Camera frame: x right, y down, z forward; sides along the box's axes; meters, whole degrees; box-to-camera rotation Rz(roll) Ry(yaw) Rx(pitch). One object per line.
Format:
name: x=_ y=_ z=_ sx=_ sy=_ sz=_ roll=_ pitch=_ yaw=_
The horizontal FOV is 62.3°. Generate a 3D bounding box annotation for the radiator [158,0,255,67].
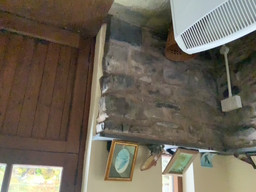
radiator: x=0.470 y=-0.510 z=1.130 sx=0.130 sy=0.450 sz=0.750 roll=16 pitch=156 yaw=-33
